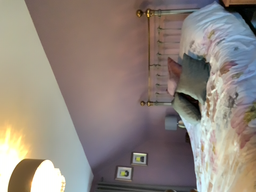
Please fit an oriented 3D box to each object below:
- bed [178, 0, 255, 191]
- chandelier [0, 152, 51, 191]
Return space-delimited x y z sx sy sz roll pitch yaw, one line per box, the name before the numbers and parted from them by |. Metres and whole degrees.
bed | 1.060 0.270 2.190 2.250 0.740 1.690 -82 171 -45
chandelier | -0.780 0.570 1.450 0.270 0.380 0.240 -69 160 -72
